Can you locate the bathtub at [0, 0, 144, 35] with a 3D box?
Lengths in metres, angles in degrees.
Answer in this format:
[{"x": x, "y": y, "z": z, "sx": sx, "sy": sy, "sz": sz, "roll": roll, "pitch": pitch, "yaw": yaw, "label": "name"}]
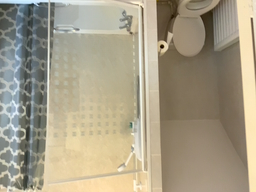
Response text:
[{"x": -0.640, "y": -1.020, "z": 2.040, "sx": 1.480, "sy": 0.580, "sz": 0.700, "roll": 0, "pitch": 175, "yaw": -6, "label": "bathtub"}]
